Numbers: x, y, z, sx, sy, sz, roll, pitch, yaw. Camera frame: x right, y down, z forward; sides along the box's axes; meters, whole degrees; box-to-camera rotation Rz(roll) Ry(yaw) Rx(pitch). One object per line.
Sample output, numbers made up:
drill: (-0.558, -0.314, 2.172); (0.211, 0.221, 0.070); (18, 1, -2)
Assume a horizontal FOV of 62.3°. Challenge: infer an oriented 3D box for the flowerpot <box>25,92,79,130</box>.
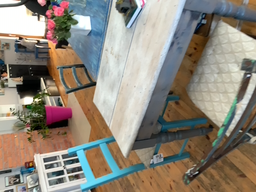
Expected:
flowerpot: (-1.720, 0.320, 4.780); (0.360, 1.040, 0.680); (51, 135, 44)
